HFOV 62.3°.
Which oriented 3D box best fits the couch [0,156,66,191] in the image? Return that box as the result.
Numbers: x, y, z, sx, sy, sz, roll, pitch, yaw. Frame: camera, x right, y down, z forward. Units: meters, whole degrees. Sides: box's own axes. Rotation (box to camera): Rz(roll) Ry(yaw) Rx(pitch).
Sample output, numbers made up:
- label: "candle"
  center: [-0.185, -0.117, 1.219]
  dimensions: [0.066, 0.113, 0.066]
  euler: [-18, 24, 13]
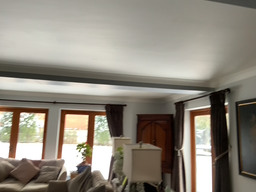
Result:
- label: "couch"
  center: [-2.200, 1.740, 4.350]
  dimensions: [1.660, 0.830, 1.050]
  euler: [3, -8, -12]
